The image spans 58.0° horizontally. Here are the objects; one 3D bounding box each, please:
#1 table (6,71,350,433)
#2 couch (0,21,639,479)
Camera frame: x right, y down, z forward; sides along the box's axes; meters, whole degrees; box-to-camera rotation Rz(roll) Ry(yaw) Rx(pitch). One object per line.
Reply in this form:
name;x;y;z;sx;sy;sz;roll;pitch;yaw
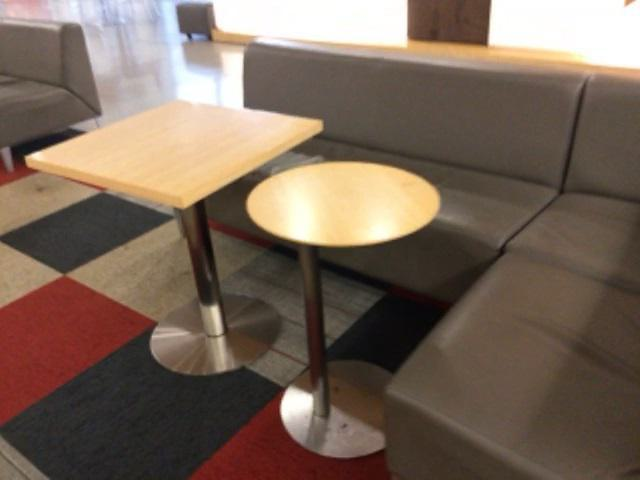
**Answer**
table;-0.370;-0.020;1.850;0.670;0.810;0.660;15;36;29
couch;0.260;-0.080;1.850;2.210;0.790;1.360;21;39;35
